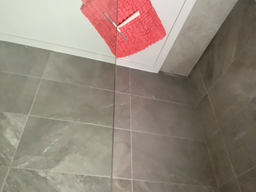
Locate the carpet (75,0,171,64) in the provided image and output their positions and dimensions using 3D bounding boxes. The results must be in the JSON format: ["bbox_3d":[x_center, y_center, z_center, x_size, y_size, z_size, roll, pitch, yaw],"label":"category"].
[{"bbox_3d":[-0.010,-0.490,1.430,0.430,0.050,0.540,-21,136,21],"label":"carpet"}]
